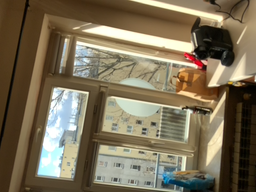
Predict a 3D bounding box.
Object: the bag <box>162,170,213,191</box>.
[{"bbox_3d":[0.500,0.760,1.830,0.290,0.320,0.170,117,160,-64],"label":"bag"}]
